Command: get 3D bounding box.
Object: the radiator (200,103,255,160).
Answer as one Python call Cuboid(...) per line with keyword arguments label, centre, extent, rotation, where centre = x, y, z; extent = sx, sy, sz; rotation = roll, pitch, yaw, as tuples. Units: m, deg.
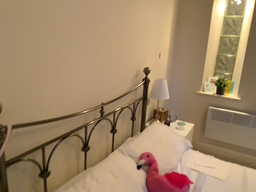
Cuboid(label="radiator", centre=(1.470, 0.470, 2.680), extent=(0.990, 0.570, 0.150), rotation=(12, 18, 27))
